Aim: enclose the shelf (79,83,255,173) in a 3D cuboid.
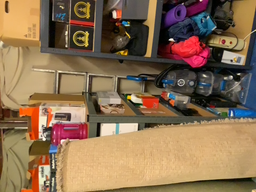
[{"bbox_3d":[0.320,0.200,1.960,0.970,1.450,0.410,-139,53,-70],"label":"shelf"}]
